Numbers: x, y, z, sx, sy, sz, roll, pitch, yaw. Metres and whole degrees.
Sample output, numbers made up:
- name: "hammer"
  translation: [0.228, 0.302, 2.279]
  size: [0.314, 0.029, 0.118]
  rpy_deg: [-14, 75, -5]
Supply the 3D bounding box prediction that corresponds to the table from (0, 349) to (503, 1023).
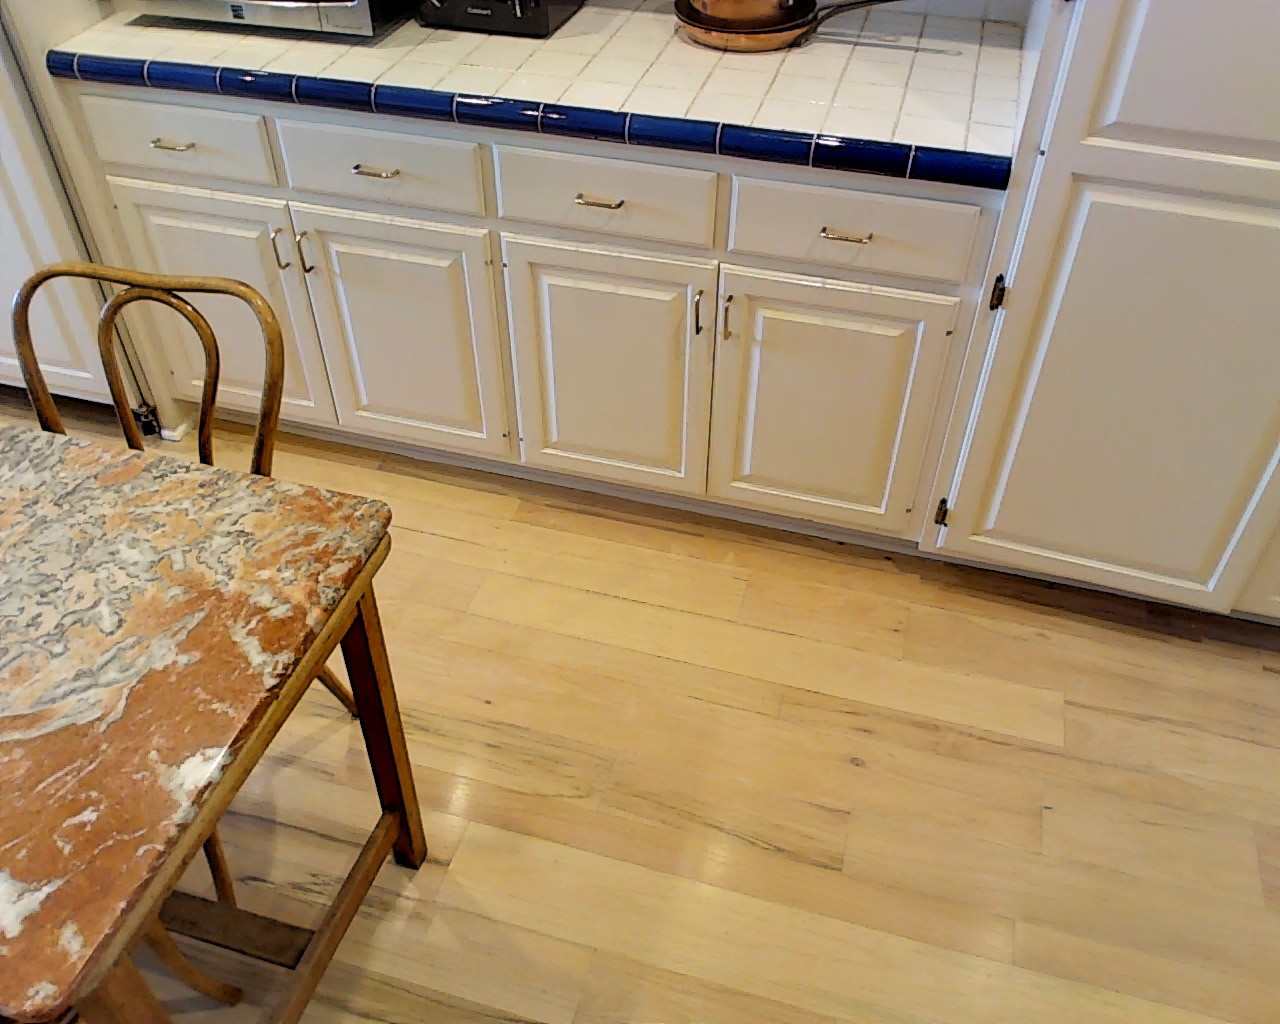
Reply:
- name: "table"
  translation: [-1.030, 0.300, 1.530]
  size: [1.390, 0.720, 0.830]
  rpy_deg: [11, 43, 12]
